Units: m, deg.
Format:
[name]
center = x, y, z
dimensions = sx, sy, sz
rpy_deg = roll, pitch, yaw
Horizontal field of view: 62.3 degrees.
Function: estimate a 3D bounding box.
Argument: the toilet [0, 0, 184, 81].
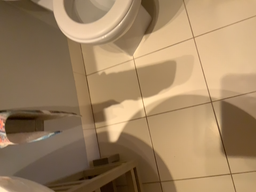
[toilet]
center = -0.190, -0.420, 0.820
dimensions = 0.530, 0.850, 0.400
rpy_deg = 33, 99, 23
